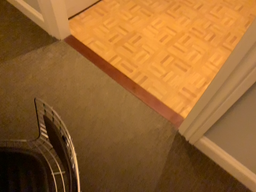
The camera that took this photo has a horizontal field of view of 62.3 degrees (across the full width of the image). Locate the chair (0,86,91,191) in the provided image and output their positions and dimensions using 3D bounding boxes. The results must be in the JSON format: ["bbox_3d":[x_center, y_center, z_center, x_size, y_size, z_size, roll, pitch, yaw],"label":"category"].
[{"bbox_3d":[-0.450,0.370,0.780,0.570,0.730,0.390,-9,60,-10],"label":"chair"}]
